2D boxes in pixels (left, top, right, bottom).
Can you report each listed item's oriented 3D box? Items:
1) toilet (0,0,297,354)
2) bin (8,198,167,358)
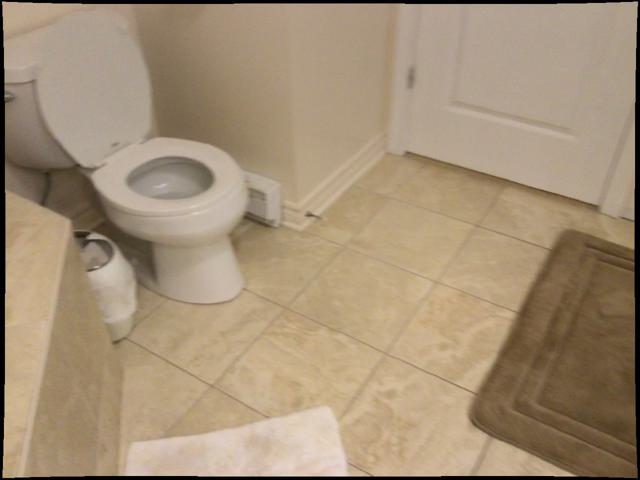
[{"bbox_3d":[-0.509,-0.240,1.670,0.710,0.750,0.520,23,44,23],"label":"toilet"},{"bbox_3d":[-0.629,0.100,1.590,0.350,0.280,0.170,24,44,23],"label":"bin"}]
